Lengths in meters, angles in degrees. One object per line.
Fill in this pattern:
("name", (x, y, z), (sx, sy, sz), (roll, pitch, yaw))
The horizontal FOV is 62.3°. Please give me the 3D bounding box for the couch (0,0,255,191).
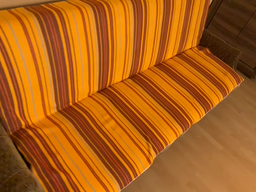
("couch", (0.140, -0.180, 1.590), (2.180, 0.940, 1.010), (-28, 63, -37))
